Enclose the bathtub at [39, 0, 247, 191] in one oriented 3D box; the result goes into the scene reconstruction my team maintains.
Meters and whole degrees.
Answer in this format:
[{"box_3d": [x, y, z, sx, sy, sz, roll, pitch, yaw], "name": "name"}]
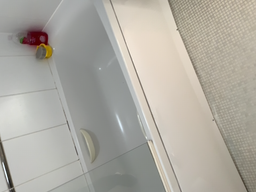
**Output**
[{"box_3d": [0.080, 0.170, 1.350, 0.680, 0.580, 1.660, -27, 80, 44], "name": "bathtub"}]
